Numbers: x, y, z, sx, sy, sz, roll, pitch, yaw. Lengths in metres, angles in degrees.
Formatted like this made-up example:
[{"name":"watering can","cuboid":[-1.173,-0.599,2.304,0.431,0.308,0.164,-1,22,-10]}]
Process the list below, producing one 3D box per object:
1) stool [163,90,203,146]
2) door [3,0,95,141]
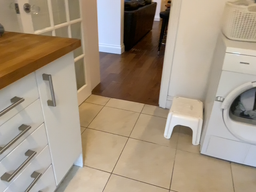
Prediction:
[{"name":"stool","cuboid":[0.500,0.170,1.880,0.270,0.240,0.450,11,30,14]},{"name":"door","cuboid":[-0.540,-0.780,1.600,0.140,2.150,0.880,11,30,15]}]
